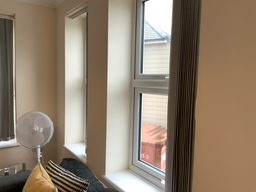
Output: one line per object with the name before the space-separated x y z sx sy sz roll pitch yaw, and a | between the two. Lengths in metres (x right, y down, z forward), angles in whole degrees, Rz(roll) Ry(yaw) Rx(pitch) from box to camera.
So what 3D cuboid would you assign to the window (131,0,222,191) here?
window | 0.330 -0.110 1.780 0.090 1.650 0.870 -2 5 -34
